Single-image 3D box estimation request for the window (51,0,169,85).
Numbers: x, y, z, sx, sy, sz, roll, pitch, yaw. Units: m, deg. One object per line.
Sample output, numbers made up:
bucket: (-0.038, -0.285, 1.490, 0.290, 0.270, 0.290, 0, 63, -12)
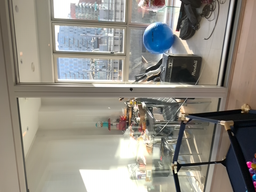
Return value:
window: (-0.320, -1.340, 4.150, 0.110, 2.200, 2.260, -123, 34, -73)
